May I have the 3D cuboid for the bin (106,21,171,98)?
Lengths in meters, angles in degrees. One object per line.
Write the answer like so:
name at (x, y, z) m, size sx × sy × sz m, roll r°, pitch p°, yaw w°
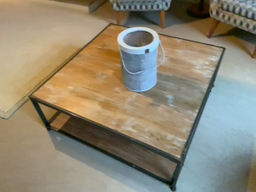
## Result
bin at (0.070, -0.220, 1.270) m, size 0.260 × 0.300 × 0.270 m, roll 20°, pitch 52°, yaw 20°
